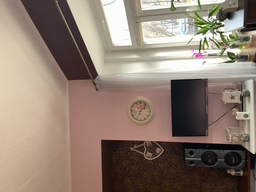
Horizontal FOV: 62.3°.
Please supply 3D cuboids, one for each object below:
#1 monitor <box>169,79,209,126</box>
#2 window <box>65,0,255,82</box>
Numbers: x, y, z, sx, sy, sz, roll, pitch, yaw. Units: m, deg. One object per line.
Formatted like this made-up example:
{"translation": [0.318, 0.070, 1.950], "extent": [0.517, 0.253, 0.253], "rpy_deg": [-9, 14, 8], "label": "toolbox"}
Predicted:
{"translation": [0.770, 0.090, 2.680], "extent": [0.050, 0.470, 0.600], "rpy_deg": [-49, -43, -74], "label": "monitor"}
{"translation": [0.530, -1.010, 2.700], "extent": [0.570, 2.380, 1.570], "rpy_deg": [-78, -17, -48], "label": "window"}
